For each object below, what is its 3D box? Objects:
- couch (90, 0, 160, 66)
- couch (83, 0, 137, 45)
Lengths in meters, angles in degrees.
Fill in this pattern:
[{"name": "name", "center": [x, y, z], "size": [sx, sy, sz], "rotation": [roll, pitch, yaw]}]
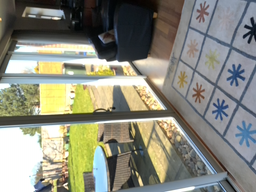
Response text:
[{"name": "couch", "center": [-0.130, -1.160, 3.720], "size": [0.900, 0.850, 0.970], "rotation": [-122, 37, -54]}, {"name": "couch", "center": [-0.440, -1.680, 4.530], "size": [0.930, 0.850, 0.870], "rotation": [-122, 37, -54]}]
